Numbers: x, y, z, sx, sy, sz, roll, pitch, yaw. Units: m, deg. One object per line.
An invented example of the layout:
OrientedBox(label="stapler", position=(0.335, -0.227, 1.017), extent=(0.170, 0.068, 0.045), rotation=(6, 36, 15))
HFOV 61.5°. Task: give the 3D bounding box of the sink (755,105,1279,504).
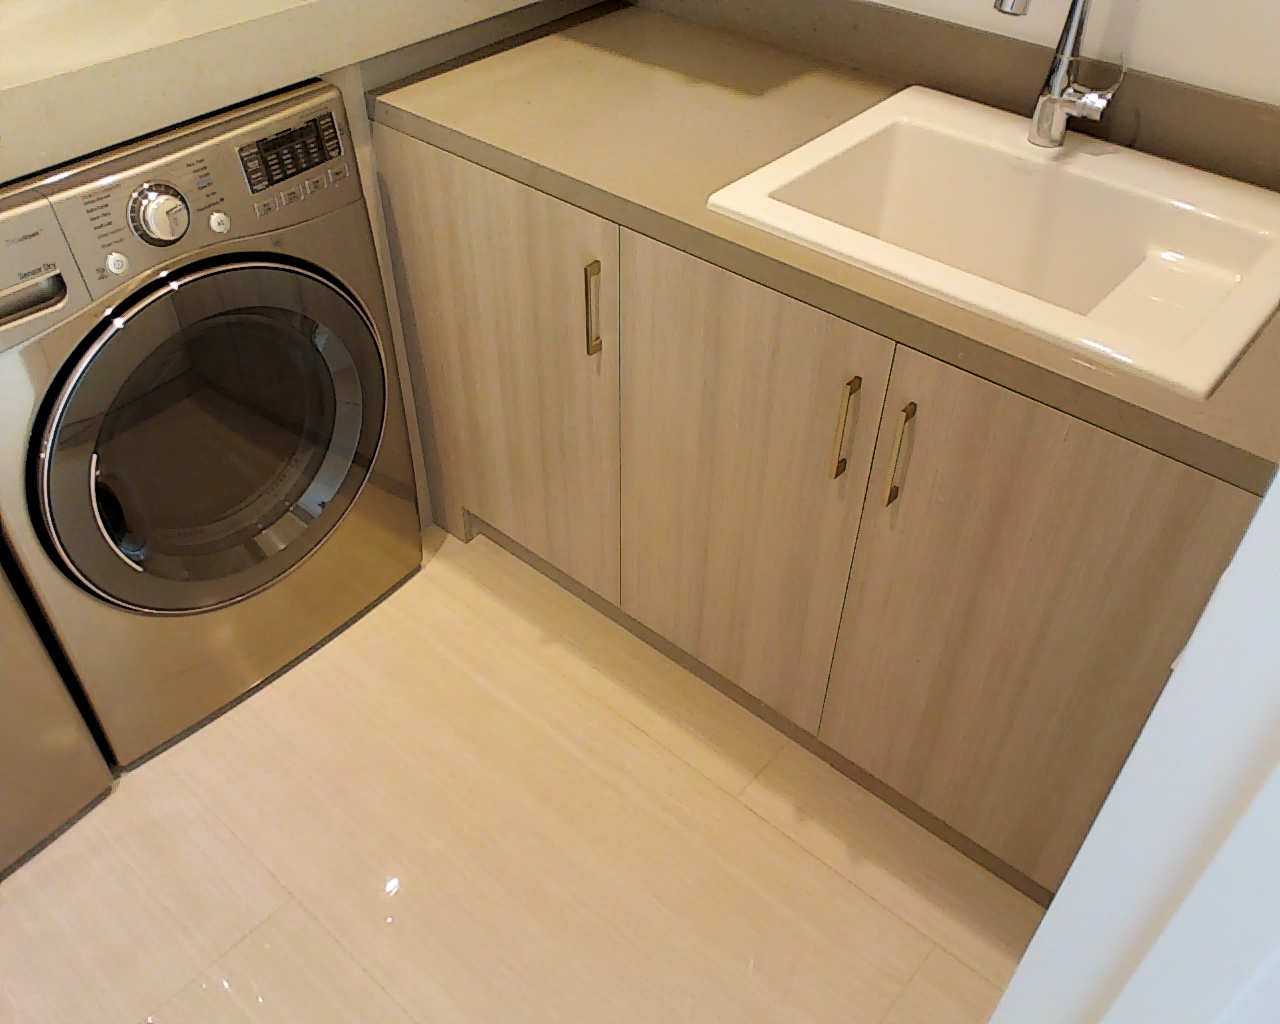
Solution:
OrientedBox(label="sink", position=(0.520, -0.310, 1.430), extent=(0.640, 0.190, 0.340), rotation=(31, 50, 28))
